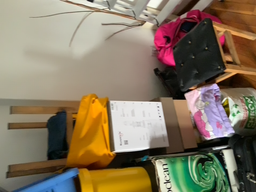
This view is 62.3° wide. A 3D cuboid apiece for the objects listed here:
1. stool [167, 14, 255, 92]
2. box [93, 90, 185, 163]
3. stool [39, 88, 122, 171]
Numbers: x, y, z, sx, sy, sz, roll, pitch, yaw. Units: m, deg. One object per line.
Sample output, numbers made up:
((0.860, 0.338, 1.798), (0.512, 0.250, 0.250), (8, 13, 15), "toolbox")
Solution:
((0.570, -0.250, 1.390), (0.300, 0.480, 0.340), (-37, 56, 56), "stool")
((0.040, 0.220, 1.410), (0.460, 0.390, 0.340), (-42, 52, 54), "box")
((-0.320, 0.220, 1.290), (0.450, 0.370, 0.370), (-40, 54, 55), "stool")
